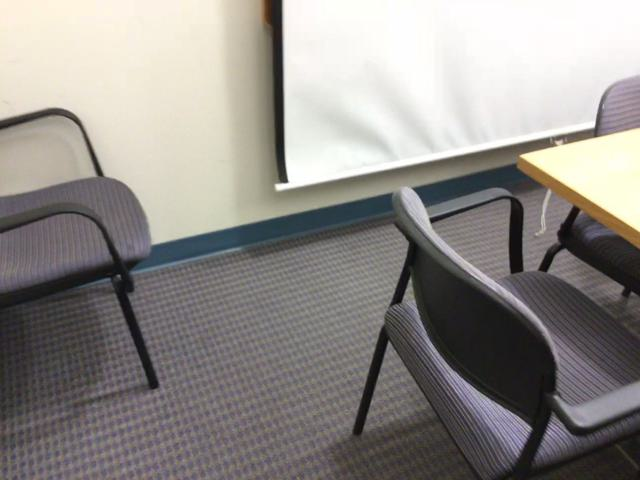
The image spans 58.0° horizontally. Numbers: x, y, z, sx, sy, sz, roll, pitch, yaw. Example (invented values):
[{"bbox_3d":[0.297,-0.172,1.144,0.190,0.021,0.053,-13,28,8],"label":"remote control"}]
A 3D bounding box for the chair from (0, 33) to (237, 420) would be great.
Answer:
[{"bbox_3d":[-0.660,-0.070,1.570,0.640,0.730,0.590,-15,37,-16],"label":"chair"}]

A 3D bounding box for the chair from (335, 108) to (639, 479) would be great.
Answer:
[{"bbox_3d":[0.410,0.240,1.220,0.550,0.780,0.570,-15,37,-16],"label":"chair"}]
